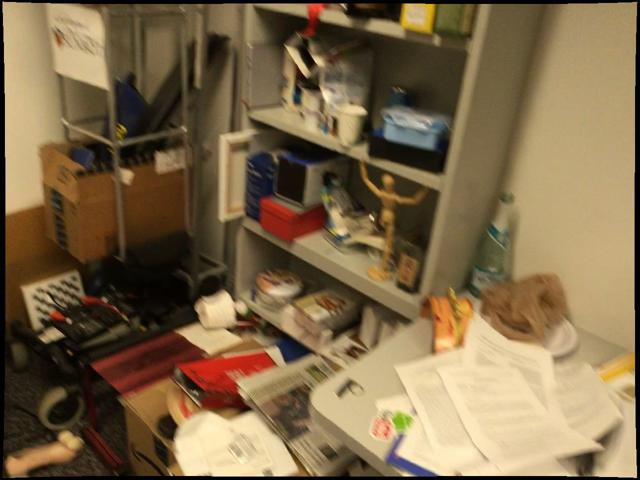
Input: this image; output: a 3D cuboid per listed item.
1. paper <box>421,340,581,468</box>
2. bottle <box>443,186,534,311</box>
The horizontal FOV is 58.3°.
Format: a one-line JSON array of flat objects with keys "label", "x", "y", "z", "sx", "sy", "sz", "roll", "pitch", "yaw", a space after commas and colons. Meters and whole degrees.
[{"label": "paper", "x": 0.360, "y": 0.330, "z": 1.200, "sx": 0.220, "sy": 0.050, "sz": 0.310, "roll": 3, "pitch": 29, "yaw": -8}, {"label": "bottle", "x": 0.450, "y": 0.020, "z": 1.540, "sx": 0.100, "sy": 0.280, "sz": 0.180, "roll": 28, "pitch": 35, "yaw": 34}]
